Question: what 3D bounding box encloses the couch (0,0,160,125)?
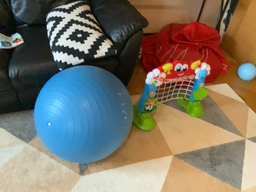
[{"bbox_3d":[-0.790,-0.490,1.450,1.640,0.910,0.990,-7,45,-16],"label":"couch"}]
